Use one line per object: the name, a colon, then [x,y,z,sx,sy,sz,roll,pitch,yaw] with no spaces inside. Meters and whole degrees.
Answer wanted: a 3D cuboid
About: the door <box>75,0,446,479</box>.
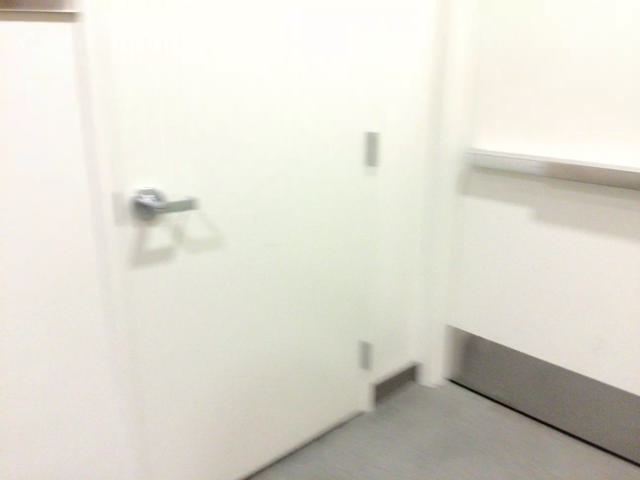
door: [-0.050,-0.010,1.880,1.200,1.600,0.110,-16,23,-36]
